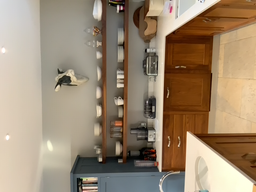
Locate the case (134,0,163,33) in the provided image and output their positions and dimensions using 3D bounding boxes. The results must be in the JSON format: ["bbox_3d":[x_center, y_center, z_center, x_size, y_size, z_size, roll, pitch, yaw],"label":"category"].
[{"bbox_3d":[0.330,-1.400,3.530,0.460,0.380,0.590,-131,42,-82],"label":"case"}]
